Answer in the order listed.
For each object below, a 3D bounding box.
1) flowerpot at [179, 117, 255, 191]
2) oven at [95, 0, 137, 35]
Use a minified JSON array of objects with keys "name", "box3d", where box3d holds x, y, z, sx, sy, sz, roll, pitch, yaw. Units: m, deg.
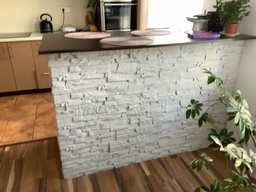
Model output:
[{"name":"flowerpot","box3d":[0.680,0.540,1.070,0.660,0.710,0.470,-7,25,-17]},{"name":"oven","box3d":[-0.210,-1.320,3.380,0.530,0.580,0.570,-7,25,-16]}]
